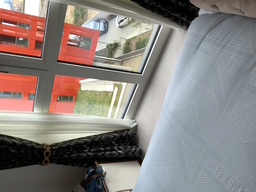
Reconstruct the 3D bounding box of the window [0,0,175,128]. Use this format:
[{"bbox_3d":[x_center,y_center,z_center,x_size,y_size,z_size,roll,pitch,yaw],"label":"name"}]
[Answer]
[{"bbox_3d":[-0.910,-0.300,1.770,0.110,2.670,1.340,52,130,49],"label":"window"}]
